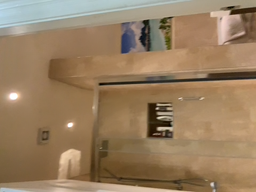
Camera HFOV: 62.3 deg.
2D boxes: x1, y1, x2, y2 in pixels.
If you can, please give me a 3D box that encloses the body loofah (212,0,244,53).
[{"bbox_3d":[1.150,-0.790,2.470,0.420,0.250,0.440,23,-113,-74],"label":"body loofah"}]
